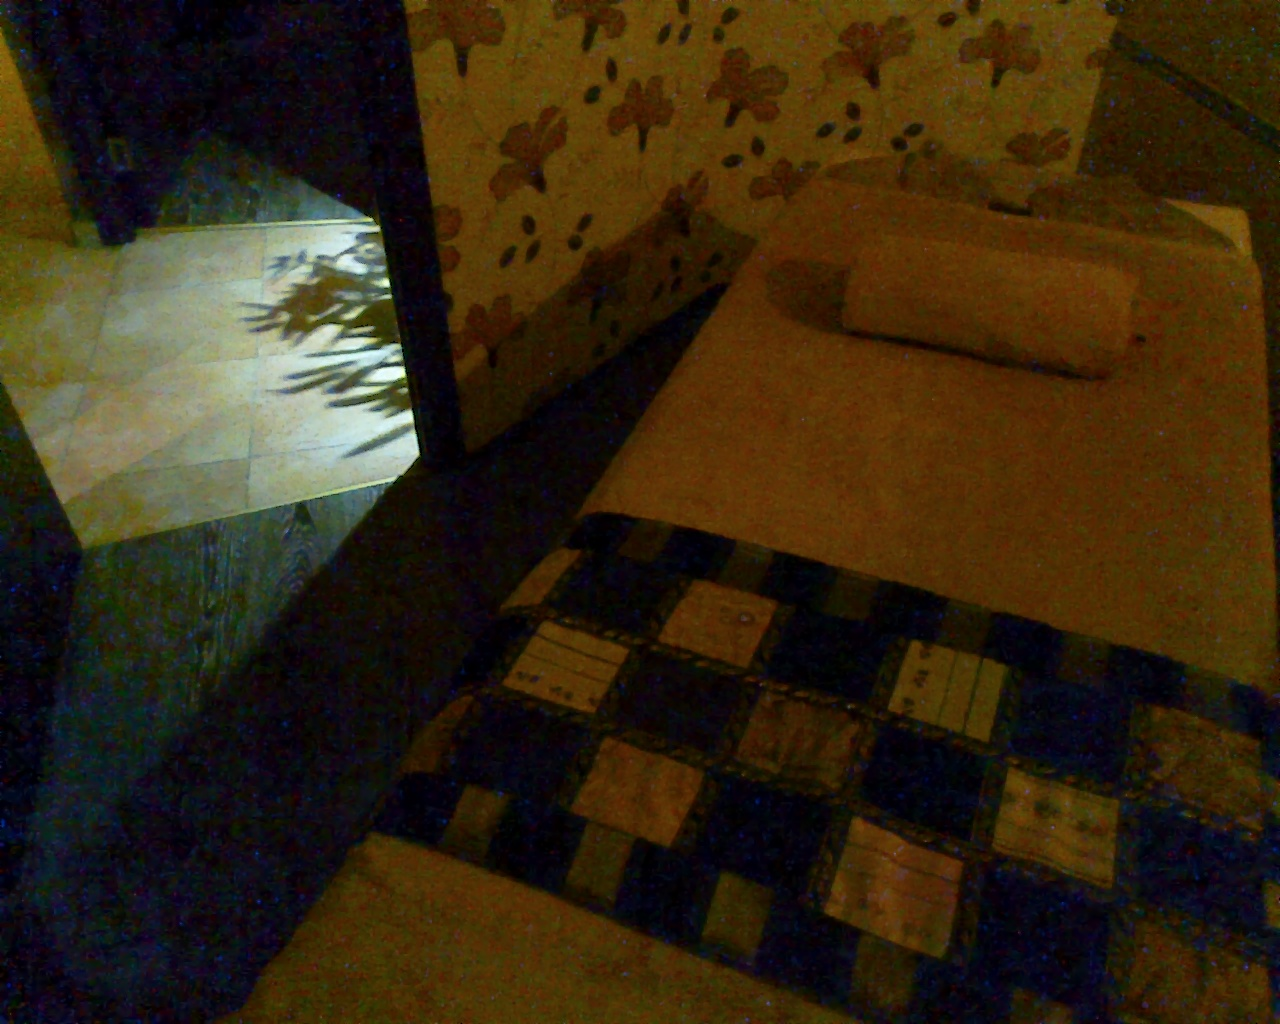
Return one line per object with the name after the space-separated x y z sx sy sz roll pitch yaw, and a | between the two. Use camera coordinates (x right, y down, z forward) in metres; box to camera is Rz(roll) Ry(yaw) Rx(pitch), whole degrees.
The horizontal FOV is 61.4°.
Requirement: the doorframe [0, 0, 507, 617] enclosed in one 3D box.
-0.800 -0.790 1.610 1.000 2.260 0.180 -14 45 -15 | doorframe
